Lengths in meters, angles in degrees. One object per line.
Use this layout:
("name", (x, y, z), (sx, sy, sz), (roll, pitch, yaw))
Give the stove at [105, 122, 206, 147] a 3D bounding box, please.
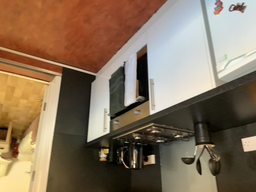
("stove", (0.210, 0.340, 1.750), (0.590, 0.030, 0.580), (14, 153, -29))
